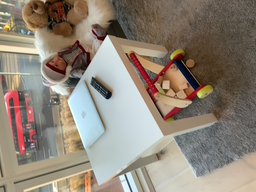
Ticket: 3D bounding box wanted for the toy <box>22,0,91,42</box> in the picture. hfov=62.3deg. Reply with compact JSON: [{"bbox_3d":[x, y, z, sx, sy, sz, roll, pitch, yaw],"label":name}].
[{"bbox_3d":[-0.480,-0.610,1.410,0.380,0.280,0.250,-47,59,37],"label":"toy"}]
